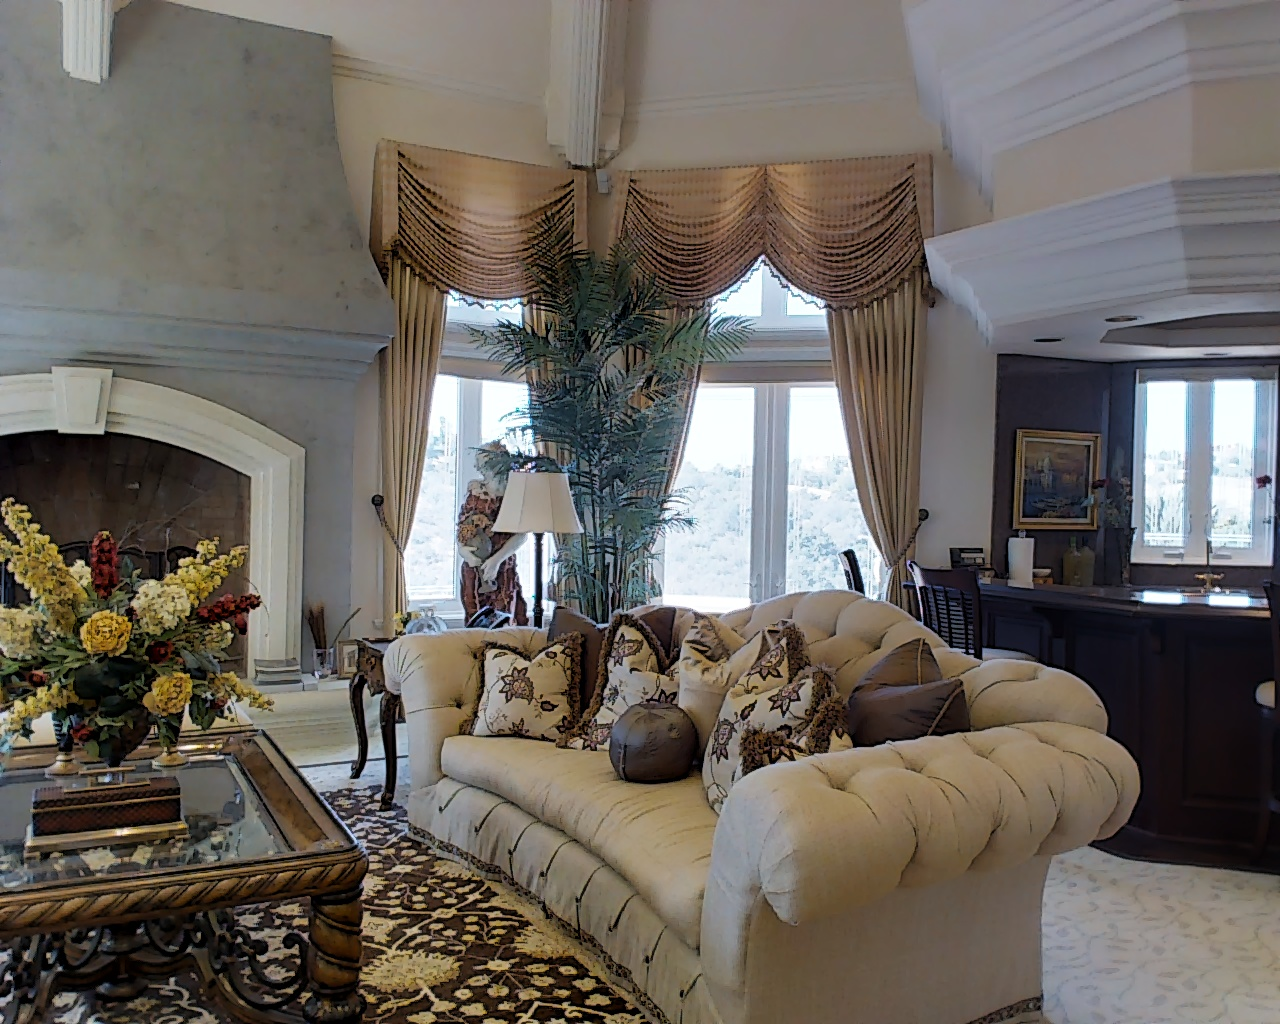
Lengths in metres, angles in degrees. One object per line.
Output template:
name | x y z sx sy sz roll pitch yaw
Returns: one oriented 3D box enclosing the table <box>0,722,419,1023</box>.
table | -1.450 1.090 3.080 1.150 0.570 1.620 1 1 -29
